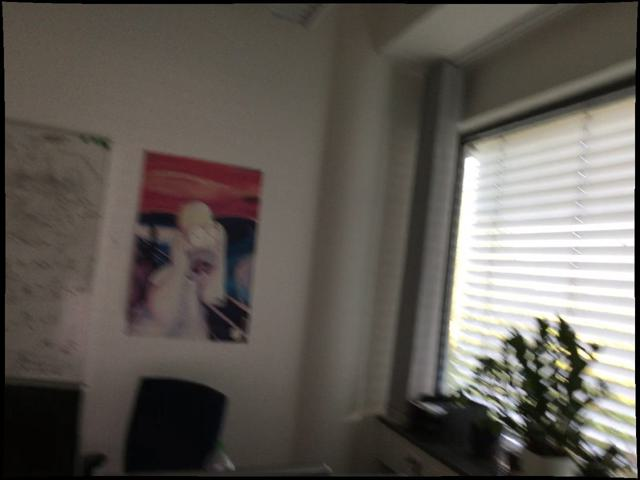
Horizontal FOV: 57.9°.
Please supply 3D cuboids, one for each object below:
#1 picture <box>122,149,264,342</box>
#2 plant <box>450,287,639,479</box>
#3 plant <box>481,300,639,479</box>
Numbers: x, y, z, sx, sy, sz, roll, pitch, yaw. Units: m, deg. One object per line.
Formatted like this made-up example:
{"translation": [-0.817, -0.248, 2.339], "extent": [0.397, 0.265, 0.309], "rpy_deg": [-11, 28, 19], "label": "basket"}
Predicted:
{"translation": [-0.629, 0.040, 2.900], "extent": [0.609, 0.901, 0.100], "rpy_deg": [5, -2, -18], "label": "picture"}
{"translation": [0.909, 0.571, 2.290], "extent": [0.480, 0.691, 0.600], "rpy_deg": [5, -2, -18], "label": "plant"}
{"translation": [0.879, 0.621, 2.130], "extent": [0.360, 0.741, 0.370], "rpy_deg": [5, -2, -18], "label": "plant"}
